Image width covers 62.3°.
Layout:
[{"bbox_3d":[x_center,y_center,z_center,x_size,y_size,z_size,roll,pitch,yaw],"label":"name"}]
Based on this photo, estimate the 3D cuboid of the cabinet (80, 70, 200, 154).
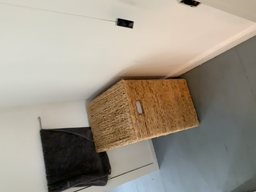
[{"bbox_3d":[0.070,0.120,1.660,0.570,0.630,0.430,-34,68,49],"label":"cabinet"}]
